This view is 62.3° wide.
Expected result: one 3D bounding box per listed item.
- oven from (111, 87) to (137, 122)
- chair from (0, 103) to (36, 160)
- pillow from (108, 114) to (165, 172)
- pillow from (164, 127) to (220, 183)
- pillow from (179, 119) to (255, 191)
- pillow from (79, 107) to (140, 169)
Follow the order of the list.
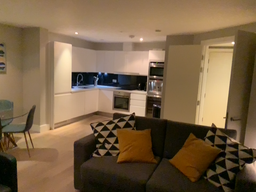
[{"bbox_3d":[-0.120,0.250,6.740,0.560,0.960,0.650,7,9,25],"label":"oven"},{"bbox_3d":[-1.910,0.590,3.690,0.530,0.870,0.390,0,9,-20],"label":"chair"},{"bbox_3d":[0.100,0.590,2.660,0.510,0.480,0.150,47,3,-13],"label":"pillow"},{"bbox_3d":[0.700,0.650,2.420,0.130,0.410,0.510,47,3,-23],"label":"pillow"},{"bbox_3d":[0.950,0.640,2.290,0.190,0.620,0.540,40,4,-25],"label":"pillow"},{"bbox_3d":[-0.240,0.550,2.850,0.570,0.550,0.230,40,0,-2],"label":"pillow"}]
